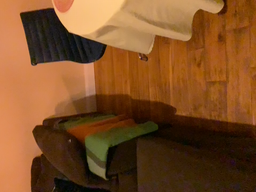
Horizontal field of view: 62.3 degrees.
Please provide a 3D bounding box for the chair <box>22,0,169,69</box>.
[{"bbox_3d":[-0.250,-0.570,1.540,0.500,0.810,0.530,-48,58,45],"label":"chair"}]
